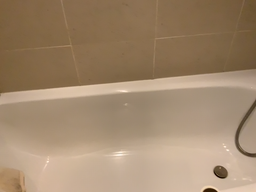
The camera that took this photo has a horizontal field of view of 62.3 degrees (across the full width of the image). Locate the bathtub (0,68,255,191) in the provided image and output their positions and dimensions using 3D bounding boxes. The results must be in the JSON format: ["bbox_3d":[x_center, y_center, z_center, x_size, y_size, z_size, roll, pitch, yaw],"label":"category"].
[{"bbox_3d":[-0.020,0.380,1.030,1.620,0.570,0.760,-6,40,-4],"label":"bathtub"}]
